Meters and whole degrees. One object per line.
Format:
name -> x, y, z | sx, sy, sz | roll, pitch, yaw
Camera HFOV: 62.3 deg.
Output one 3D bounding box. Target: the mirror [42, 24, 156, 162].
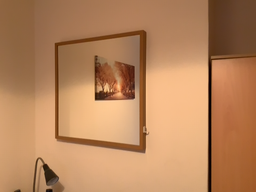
mirror -> -0.240, -0.020, 1.420 | 0.880, 0.770, 0.070 | 0, 1, 28
